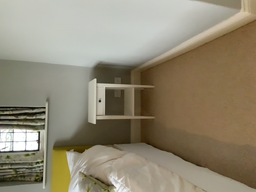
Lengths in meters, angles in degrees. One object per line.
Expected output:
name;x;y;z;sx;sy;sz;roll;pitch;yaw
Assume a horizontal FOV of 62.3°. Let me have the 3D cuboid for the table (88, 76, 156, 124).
table;-0.090;0.060;2.470;0.480;0.670;0.480;170;101;-70
